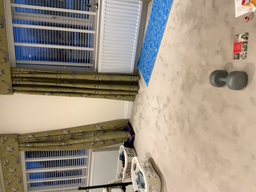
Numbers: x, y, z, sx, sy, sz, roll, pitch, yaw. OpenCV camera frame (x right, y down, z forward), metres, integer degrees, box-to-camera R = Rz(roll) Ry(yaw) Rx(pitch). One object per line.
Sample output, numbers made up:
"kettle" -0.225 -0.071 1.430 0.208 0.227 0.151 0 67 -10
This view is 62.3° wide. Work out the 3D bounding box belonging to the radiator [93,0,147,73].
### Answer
"radiator" -0.140 -0.950 3.230 0.110 0.680 1.200 -118 33 -59
